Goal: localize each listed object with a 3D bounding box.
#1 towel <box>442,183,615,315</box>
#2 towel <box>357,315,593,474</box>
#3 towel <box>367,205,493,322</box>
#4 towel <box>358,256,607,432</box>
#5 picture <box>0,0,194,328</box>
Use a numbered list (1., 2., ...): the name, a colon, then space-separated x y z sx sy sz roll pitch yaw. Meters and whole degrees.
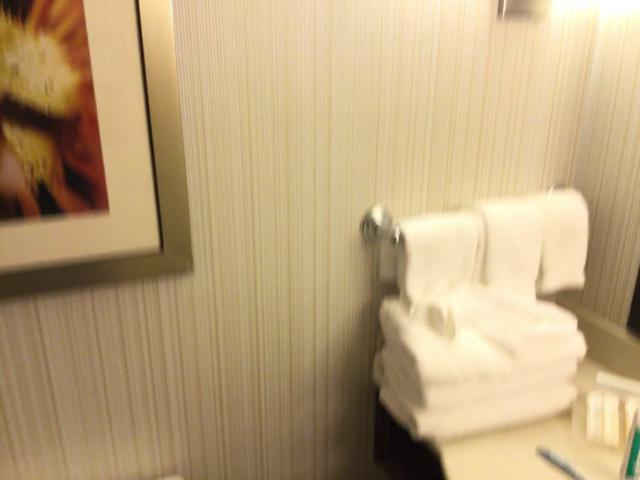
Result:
1. towel: 0.420 0.010 1.180 0.290 0.210 0.130 -6 21 -22
2. towel: 0.300 0.290 1.170 0.360 0.120 0.270 -6 21 -22
3. towel: 0.210 0.040 1.130 0.190 0.180 0.120 -6 21 -22
4. towel: 0.300 0.180 1.130 0.360 0.180 0.270 -6 21 -22
5. picture: -0.450 -0.200 0.800 0.520 0.690 0.040 -6 21 -22
